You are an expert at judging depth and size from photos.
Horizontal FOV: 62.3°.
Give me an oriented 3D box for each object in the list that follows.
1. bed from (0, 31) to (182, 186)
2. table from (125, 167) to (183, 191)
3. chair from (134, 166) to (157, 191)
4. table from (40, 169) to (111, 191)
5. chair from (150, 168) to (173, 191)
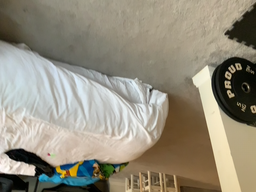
[{"bbox_3d":[-0.930,0.270,1.810,2.110,0.450,1.620,16,142,-22],"label":"bed"},{"bbox_3d":[0.470,1.740,3.960,0.870,0.560,0.620,14,143,-20],"label":"table"},{"bbox_3d":[0.300,1.560,3.720,0.260,0.520,0.330,16,140,-19],"label":"chair"},{"bbox_3d":[-0.940,1.620,3.900,1.180,0.300,0.440,14,143,-20],"label":"table"},{"bbox_3d":[0.600,1.630,3.840,0.260,0.520,0.330,16,140,-19],"label":"chair"}]
